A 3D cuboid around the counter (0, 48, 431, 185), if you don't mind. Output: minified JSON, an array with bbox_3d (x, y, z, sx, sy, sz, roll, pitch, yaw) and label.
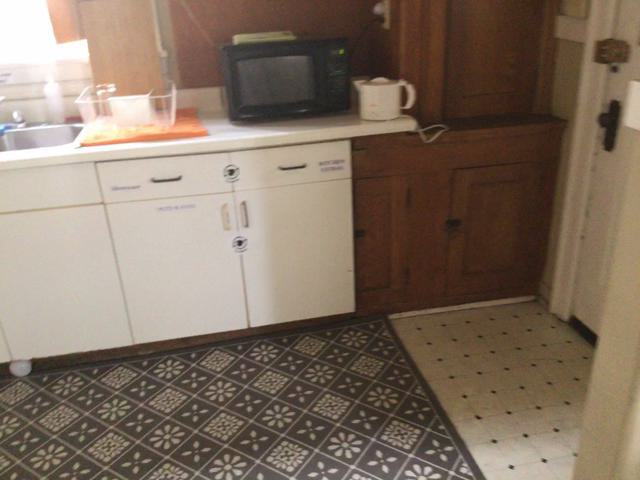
[{"bbox_3d":[-1.140,-0.440,2.120,3.020,0.310,0.660,-7,23,-12],"label":"counter"}]

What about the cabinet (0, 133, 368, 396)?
[{"bbox_3d":[-1.150,0.160,2.090,2.730,0.850,0.130,-7,23,-12],"label":"cabinet"}]

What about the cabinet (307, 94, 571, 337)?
[{"bbox_3d":[0.480,-0.160,2.650,0.930,0.850,0.650,-7,23,-12],"label":"cabinet"}]

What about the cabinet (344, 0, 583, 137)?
[{"bbox_3d":[0.520,-1.400,2.140,0.740,1.870,0.610,-7,23,-12],"label":"cabinet"}]
